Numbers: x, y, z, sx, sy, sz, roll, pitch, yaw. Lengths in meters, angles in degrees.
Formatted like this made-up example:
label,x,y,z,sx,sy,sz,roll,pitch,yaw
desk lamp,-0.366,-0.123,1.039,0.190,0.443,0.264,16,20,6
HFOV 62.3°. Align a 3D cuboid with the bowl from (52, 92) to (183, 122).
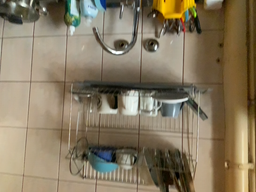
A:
label,x,y,z,sx,sy,sz,roll,pitch,yaw
bowl,-0.040,0.050,0.950,0.540,0.100,0.190,2,175,11
